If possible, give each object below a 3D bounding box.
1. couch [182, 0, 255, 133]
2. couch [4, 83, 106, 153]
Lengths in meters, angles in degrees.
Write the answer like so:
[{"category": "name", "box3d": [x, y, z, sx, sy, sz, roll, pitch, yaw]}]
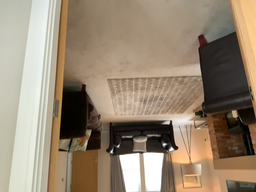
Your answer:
[{"category": "couch", "box3d": [1.300, -0.200, 2.080, 0.990, 0.910, 1.070, -18, 156, 40]}, {"category": "couch", "box3d": [-1.140, 0.590, 4.140, 1.200, 0.860, 2.280, -2, 162, -1]}]
